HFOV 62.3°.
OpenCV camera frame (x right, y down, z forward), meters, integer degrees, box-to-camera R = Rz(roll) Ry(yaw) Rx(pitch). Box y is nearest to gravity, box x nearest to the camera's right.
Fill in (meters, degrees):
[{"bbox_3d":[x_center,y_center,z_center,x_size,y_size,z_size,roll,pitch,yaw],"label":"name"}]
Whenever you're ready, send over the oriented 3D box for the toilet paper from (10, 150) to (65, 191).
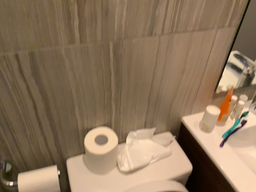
[{"bbox_3d":[-0.270,0.300,0.670,0.120,0.240,0.100,-12,41,-18],"label":"toilet paper"}]
